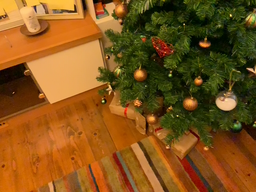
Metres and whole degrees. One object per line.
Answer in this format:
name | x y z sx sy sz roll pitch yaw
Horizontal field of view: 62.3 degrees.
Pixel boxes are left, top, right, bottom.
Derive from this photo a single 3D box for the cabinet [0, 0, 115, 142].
cabinet | -0.990 0.000 1.300 1.750 0.550 0.420 -22 53 -13
